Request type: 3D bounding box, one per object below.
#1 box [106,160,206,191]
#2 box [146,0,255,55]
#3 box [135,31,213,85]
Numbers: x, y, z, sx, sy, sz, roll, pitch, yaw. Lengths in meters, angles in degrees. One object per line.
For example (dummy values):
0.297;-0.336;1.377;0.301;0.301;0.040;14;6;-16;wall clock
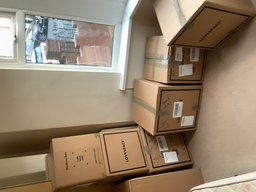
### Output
0.270;1.000;2.190;0.660;0.750;0.450;-45;52;55;box
0.580;-0.740;1.740;0.590;0.540;0.520;-47;50;54;box
0.440;-0.390;2.150;0.480;0.530;0.460;31;119;59;box
